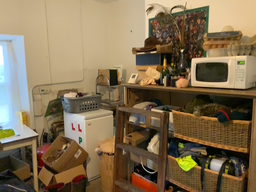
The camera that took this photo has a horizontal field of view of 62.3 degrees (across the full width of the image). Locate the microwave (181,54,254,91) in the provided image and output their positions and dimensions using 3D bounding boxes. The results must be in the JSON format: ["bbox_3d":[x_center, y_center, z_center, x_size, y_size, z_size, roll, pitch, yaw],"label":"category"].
[{"bbox_3d":[0.720,-0.200,1.750,0.230,0.260,0.490,-9,12,-42],"label":"microwave"}]
